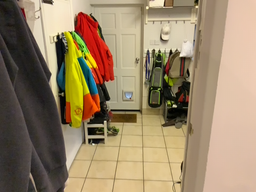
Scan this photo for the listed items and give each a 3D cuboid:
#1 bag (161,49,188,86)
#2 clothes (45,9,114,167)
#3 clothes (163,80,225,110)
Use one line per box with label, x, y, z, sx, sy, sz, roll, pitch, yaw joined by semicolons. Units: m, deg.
bag;0.800;-0.500;3.690;0.380;0.600;0.210;0;20;0
clothes;-0.490;-0.320;3.040;0.380;1.620;2.040;0;20;1
clothes;1.130;-0.020;3.740;0.950;0.430;0.310;1;20;3
